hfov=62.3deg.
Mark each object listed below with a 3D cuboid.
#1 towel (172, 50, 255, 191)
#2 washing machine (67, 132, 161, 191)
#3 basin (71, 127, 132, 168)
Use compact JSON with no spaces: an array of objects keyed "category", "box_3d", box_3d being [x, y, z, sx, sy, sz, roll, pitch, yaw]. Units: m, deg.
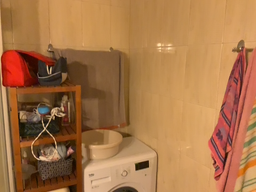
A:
[{"category":"towel","box_3d":[0.420,0.350,1.110,0.160,1.140,0.360,-4,11,-26]},{"category":"washing machine","box_3d":[-0.140,0.820,1.770,0.570,0.820,0.540,-4,12,-29]},{"category":"basin","box_3d":[-0.210,0.370,1.620,0.360,0.130,0.340,-4,12,-28]}]
